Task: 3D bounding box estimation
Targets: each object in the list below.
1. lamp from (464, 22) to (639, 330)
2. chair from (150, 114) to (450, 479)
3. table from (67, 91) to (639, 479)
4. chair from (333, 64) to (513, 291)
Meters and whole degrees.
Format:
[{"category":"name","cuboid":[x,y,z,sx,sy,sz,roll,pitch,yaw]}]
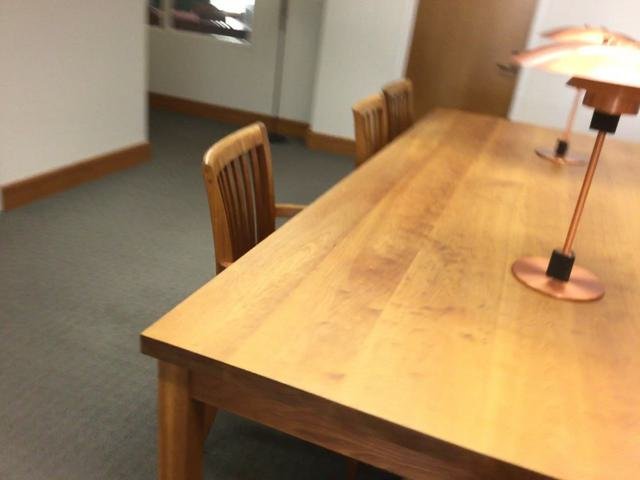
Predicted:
[{"category":"lamp","cuboid":[0.600,-0.180,1.290,0.390,0.530,0.480,13,25,17]},{"category":"chair","cuboid":[-0.050,0.180,1.720,0.620,0.920,0.590,13,25,17]},{"category":"table","cuboid":[0.730,0.160,2.090,1.510,0.840,2.720,13,25,17]},{"category":"chair","cuboid":[0.520,-0.350,2.950,0.670,0.930,0.580,13,25,17]}]
